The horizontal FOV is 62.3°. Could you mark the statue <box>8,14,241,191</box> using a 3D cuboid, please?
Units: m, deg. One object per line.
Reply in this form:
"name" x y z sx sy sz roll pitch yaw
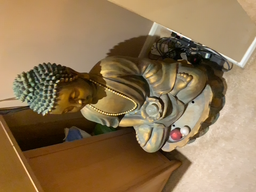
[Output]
"statue" 0.020 0.050 1.010 0.610 0.810 0.480 36 113 33
